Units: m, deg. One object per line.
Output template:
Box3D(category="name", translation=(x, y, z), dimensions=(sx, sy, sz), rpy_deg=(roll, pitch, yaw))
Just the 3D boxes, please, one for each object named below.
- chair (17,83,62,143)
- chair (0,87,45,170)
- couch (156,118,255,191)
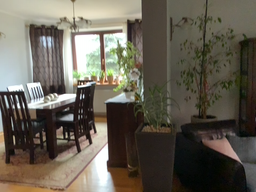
Box3D(category="chair", translation=(-1.740, 0.300, 4.220), dimensions=(0.580, 1.090, 0.490), rpy_deg=(0, 8, 15))
Box3D(category="chair", translation=(-1.640, 0.440, 3.130), dimensions=(0.490, 1.090, 0.590), rpy_deg=(-1, 7, 2))
Box3D(category="couch", translation=(1.170, 0.850, 2.730), dimensions=(1.100, 0.750, 1.310), rpy_deg=(-5, 8, -21))
